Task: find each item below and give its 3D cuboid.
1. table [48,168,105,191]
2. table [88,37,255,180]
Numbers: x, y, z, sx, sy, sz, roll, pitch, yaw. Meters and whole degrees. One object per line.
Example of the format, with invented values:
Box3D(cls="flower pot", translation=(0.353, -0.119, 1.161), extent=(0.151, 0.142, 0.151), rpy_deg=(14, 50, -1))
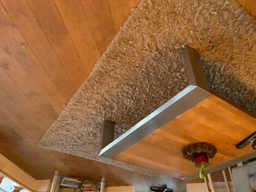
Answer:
Box3D(cls="table", translation=(-0.820, 1.510, 3.310), extent=(0.800, 0.520, 0.430), rpy_deg=(15, 139, -17))
Box3D(cls="table", translation=(0.420, 0.280, 1.880), extent=(1.030, 0.390, 1.260), rpy_deg=(24, 136, -26))
